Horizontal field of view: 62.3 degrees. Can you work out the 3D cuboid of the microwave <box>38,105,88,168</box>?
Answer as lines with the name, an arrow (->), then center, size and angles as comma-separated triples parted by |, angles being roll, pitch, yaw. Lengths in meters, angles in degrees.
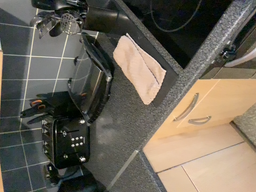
microwave -> -0.390, 0.220, 1.250 | 0.270, 0.180, 0.310 | -8, 87, 53
